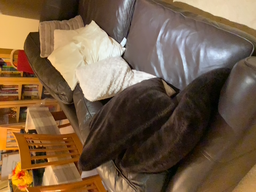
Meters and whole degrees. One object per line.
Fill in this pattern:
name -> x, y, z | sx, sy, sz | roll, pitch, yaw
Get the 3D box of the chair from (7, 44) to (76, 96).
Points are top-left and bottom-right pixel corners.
chair -> -1.200, -0.340, 2.920 | 0.470, 0.720, 0.490 | -37, 65, 46

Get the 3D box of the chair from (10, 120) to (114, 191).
chair -> -0.700, 0.640, 2.250 | 0.470, 0.880, 0.490 | 45, 126, 39
